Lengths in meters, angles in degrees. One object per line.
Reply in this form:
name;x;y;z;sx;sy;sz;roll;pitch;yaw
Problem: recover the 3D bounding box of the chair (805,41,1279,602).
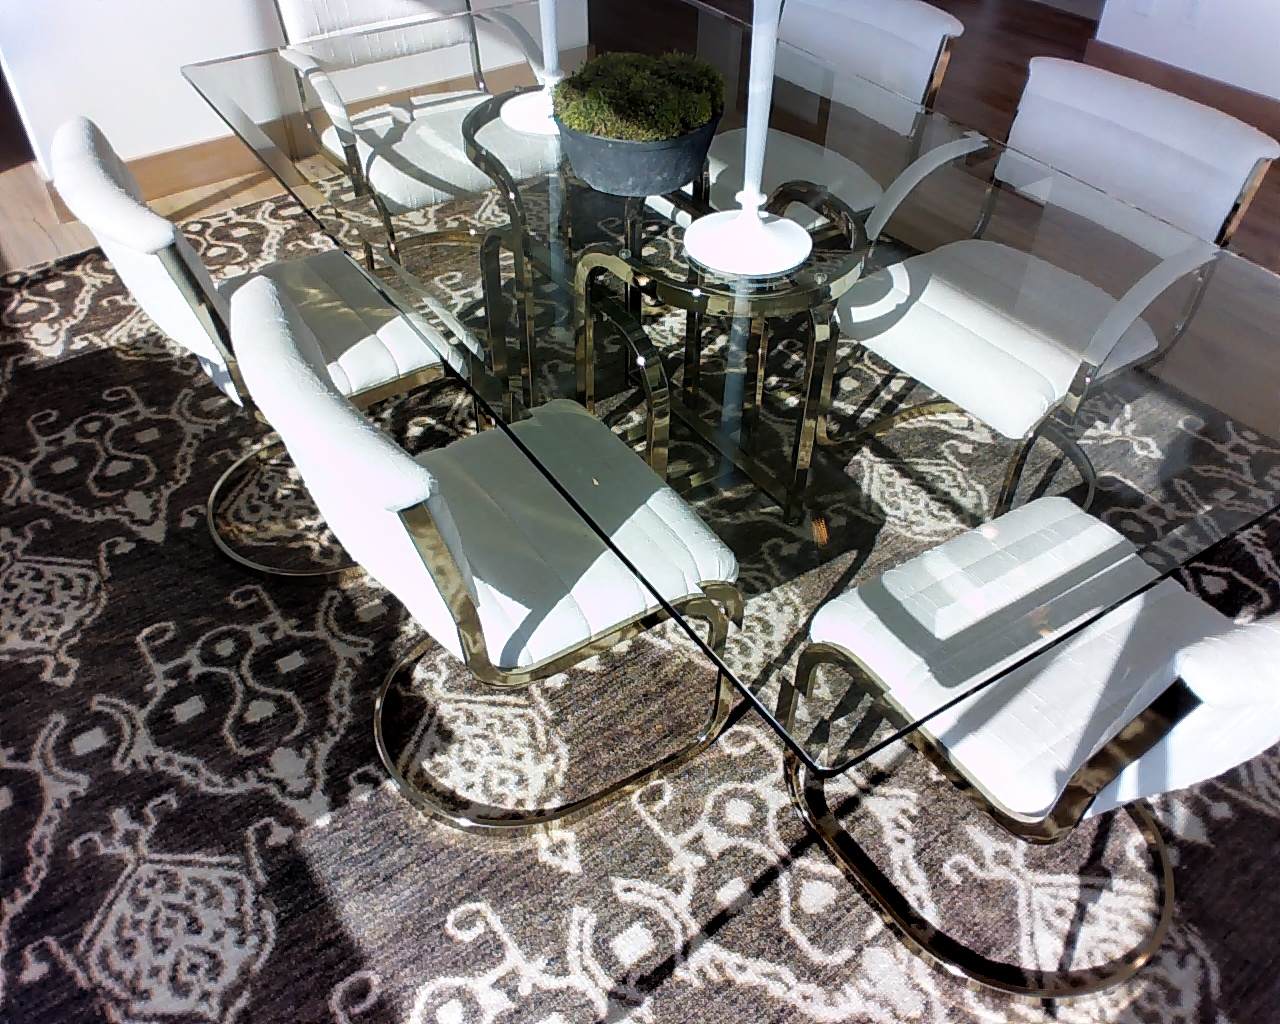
chair;0.780;-0.390;2.170;0.570;0.820;0.570;-25;48;-25
